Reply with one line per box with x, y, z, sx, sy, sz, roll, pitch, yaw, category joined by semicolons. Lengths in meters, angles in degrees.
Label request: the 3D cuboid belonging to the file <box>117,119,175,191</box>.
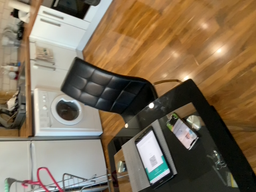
0.070;0.300;1.060;0.320;0.030;0.240;-46;49;37;file

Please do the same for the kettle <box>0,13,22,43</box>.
-1.950;-1.100;3.450;0.240;0.330;0.300;-27;62;47;kettle

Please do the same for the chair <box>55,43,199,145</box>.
0.000;0.040;1.660;0.430;0.940;0.510;-49;48;36;chair
